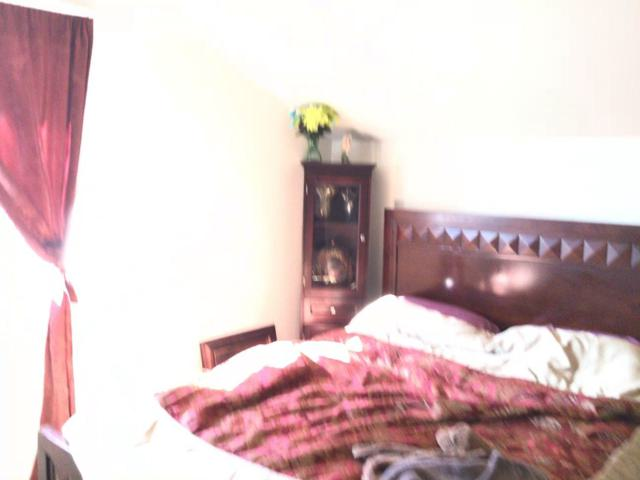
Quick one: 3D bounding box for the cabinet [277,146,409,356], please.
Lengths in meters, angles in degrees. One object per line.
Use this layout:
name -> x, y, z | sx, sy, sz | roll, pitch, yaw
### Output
cabinet -> 0.140, 0.030, 3.410 | 0.560, 1.120, 0.460 | 3, 9, 43

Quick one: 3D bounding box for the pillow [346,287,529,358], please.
pillow -> 0.580, 0.390, 2.920 | 0.780, 0.160, 0.450 | 3, 9, 43

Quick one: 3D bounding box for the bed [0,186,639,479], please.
bed -> 0.340, 0.600, 2.160 | 1.920, 1.470, 2.160 | 3, 9, 43
